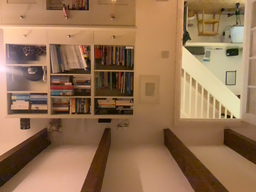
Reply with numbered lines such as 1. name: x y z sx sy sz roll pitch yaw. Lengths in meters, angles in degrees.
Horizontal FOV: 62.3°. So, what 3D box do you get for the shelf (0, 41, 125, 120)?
1. shelf: -0.770 -0.180 2.550 1.460 0.870 0.240 1 -175 -1
